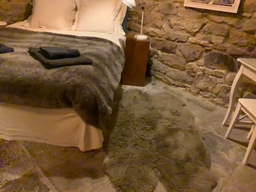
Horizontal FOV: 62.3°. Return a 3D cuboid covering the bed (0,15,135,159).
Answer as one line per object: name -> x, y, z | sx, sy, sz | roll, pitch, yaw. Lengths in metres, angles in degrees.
bed -> -0.940, -0.420, 2.620 | 1.770, 0.680, 2.270 | 8, 28, 4

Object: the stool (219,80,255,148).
stool -> 1.150, 0.160, 1.970 | 0.300, 0.470, 0.410 | 2, 28, -6
